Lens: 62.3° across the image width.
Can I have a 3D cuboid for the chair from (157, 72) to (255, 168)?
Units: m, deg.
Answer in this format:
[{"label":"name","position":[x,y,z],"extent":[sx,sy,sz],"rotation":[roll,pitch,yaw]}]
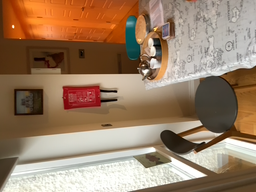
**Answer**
[{"label":"chair","position":[0.700,0.130,1.660],"extent":[0.450,0.780,0.570],"rotation":[-145,55,-66]}]
